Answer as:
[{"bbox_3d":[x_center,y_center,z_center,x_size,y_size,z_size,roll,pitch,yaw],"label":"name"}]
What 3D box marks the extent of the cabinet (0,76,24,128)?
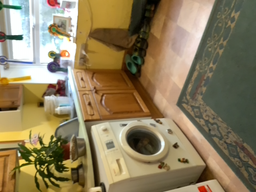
[{"bbox_3d":[-1.570,0.060,2.480,0.530,0.610,0.360,-119,36,-47],"label":"cabinet"}]
